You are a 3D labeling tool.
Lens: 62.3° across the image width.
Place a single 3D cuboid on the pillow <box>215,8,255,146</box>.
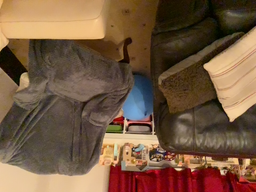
[{"bbox_3d":[0.680,-0.130,1.190,0.150,0.430,0.660,7,116,46],"label":"pillow"}]
